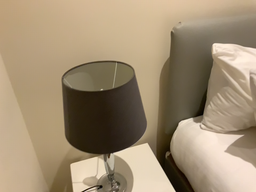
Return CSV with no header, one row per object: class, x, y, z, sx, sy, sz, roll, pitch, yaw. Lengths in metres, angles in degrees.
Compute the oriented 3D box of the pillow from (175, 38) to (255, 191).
pillow,0.640,-0.010,0.820,0.720,0.300,0.500,-11,32,-14
